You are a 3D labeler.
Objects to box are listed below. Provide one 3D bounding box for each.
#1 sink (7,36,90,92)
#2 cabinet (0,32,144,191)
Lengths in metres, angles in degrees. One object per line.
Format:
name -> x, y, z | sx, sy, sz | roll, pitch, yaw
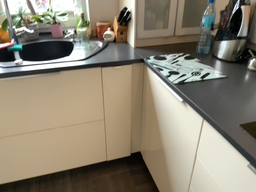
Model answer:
sink -> -0.540, -0.260, 1.520 | 0.450, 0.180, 0.530 | -8, 31, -14
cabinet -> -0.990, 0.130, 1.560 | 2.070, 0.910, 0.650 | -8, 31, -14
